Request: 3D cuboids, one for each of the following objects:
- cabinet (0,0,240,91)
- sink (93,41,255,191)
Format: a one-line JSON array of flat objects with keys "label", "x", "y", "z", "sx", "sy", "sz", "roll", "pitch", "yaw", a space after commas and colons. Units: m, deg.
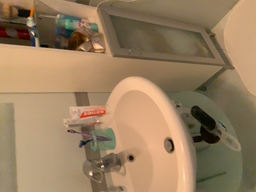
[{"label": "cabinet", "x": -0.250, "y": -0.250, "z": 0.970, "sx": 0.300, "sy": 1.870, "sz": 0.350, "roll": -50, "pitch": 50, "yaw": 48}, {"label": "sink", "x": 0.110, "y": 0.180, "z": 0.790, "sx": 0.470, "sy": 0.240, "sz": 0.550, "roll": -50, "pitch": 50, "yaw": 48}]
